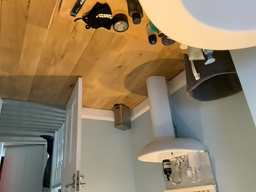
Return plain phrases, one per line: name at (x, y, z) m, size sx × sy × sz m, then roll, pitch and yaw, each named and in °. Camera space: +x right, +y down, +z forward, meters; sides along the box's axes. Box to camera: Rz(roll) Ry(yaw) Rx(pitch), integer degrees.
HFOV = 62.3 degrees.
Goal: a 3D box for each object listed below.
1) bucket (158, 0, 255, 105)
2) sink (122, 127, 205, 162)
bucket at (0.580, -0.280, 1.550) m, size 0.470 × 0.500 × 0.440 m, roll 9°, pitch 148°, yaw -29°
sink at (0.290, 0.470, 1.950) m, size 0.430 × 0.160 × 0.650 m, roll 8°, pitch 152°, yaw -27°
